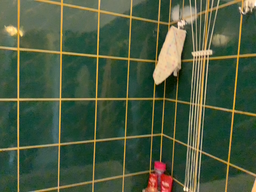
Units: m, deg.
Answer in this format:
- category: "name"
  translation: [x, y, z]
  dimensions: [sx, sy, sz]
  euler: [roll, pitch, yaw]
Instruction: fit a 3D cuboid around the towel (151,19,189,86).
- category: "towel"
  translation: [0.260, -0.260, 1.330]
  dimensions: [0.190, 0.380, 0.200]
  euler: [4, 5, 10]
